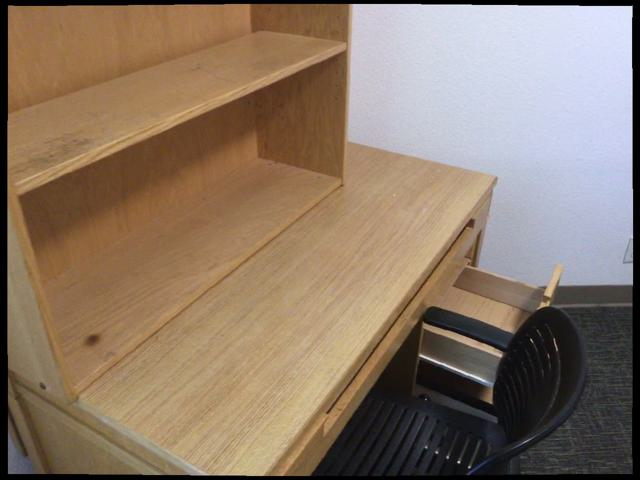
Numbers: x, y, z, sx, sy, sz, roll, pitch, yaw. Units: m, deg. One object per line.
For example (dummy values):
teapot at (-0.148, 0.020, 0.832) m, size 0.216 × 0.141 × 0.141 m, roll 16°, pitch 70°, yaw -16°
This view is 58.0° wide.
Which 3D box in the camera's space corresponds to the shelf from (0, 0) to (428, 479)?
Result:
shelf at (-0.369, -0.271, 1.070) m, size 0.799 × 0.781 × 0.970 m, roll 17°, pitch 36°, yaw 26°
